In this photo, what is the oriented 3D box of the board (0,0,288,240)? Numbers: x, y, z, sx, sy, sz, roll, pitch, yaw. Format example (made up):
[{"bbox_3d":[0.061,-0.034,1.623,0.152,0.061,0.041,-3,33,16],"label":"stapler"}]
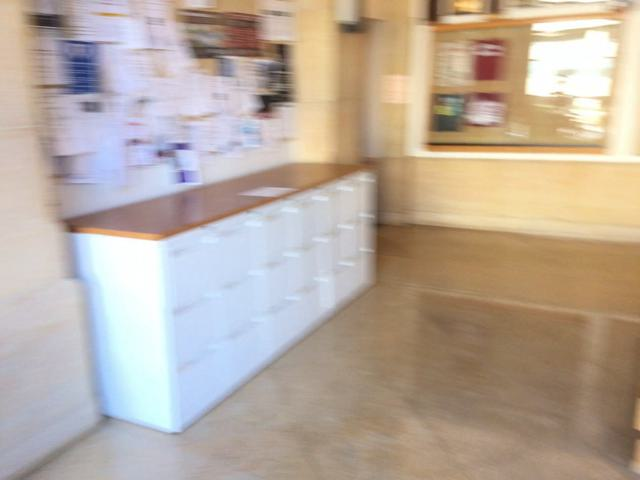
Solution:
[{"bbox_3d":[-0.890,-0.920,3.430,0.200,1.210,2.440,2,17,24],"label":"board"}]

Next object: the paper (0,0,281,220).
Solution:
[{"bbox_3d":[-0.900,-0.950,3.420,0.150,1.120,2.360,2,17,24],"label":"paper"}]

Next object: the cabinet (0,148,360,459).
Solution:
[{"bbox_3d":[-0.550,0.120,3.610,0.740,1.030,2.400,2,17,24],"label":"cabinet"}]
